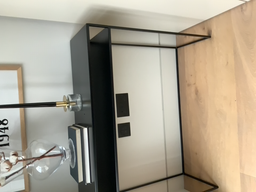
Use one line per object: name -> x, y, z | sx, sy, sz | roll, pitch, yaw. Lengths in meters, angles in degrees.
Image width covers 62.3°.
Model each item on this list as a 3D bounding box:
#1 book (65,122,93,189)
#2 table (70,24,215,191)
book -> -0.250, 0.280, 1.060 | 0.230, 0.060, 0.270 | 0, 93, 62
table -> 0.100, 0.120, 1.210 | 0.300, 0.730, 0.890 | -1, 92, 62
